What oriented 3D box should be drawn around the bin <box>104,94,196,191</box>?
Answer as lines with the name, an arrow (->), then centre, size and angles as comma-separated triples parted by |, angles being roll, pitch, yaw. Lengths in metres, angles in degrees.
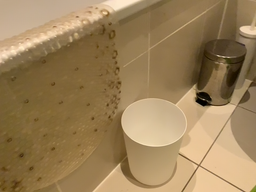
bin -> 0.080, 0.190, 0.740 | 0.170, 0.260, 0.250 | 28, 49, 32
